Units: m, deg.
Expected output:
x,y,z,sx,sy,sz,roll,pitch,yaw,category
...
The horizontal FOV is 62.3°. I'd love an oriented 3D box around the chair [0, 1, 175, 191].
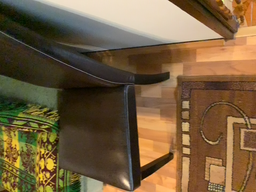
x,y,z,sx,sy,sz,roll,pitch,yaw,category
-0.210,0.090,0.930,0.460,0.940,0.640,4,95,36,chair
